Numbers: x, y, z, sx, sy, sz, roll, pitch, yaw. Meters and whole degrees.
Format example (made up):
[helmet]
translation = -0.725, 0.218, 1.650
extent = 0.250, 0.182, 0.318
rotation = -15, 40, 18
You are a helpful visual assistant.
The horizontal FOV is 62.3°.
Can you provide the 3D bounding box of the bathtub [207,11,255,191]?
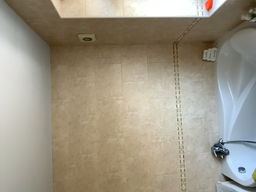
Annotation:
[bathtub]
translation = 1.290, 0.110, 1.960
extent = 0.980, 0.600, 1.520
rotation = 144, 125, -83
